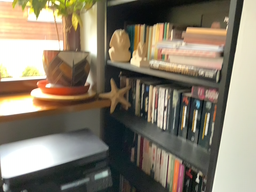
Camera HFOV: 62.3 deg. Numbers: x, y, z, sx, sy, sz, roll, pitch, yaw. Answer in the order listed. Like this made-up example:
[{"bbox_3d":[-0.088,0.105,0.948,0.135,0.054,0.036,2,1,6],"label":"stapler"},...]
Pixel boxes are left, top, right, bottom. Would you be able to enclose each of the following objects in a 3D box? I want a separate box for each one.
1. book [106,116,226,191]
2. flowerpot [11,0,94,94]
[{"bbox_3d":[0.150,0.360,1.220,0.190,0.250,0.720,-10,19,-37],"label":"book"},{"bbox_3d":[-0.440,-0.450,1.190,0.360,0.760,0.450,-6,17,-27],"label":"flowerpot"}]
